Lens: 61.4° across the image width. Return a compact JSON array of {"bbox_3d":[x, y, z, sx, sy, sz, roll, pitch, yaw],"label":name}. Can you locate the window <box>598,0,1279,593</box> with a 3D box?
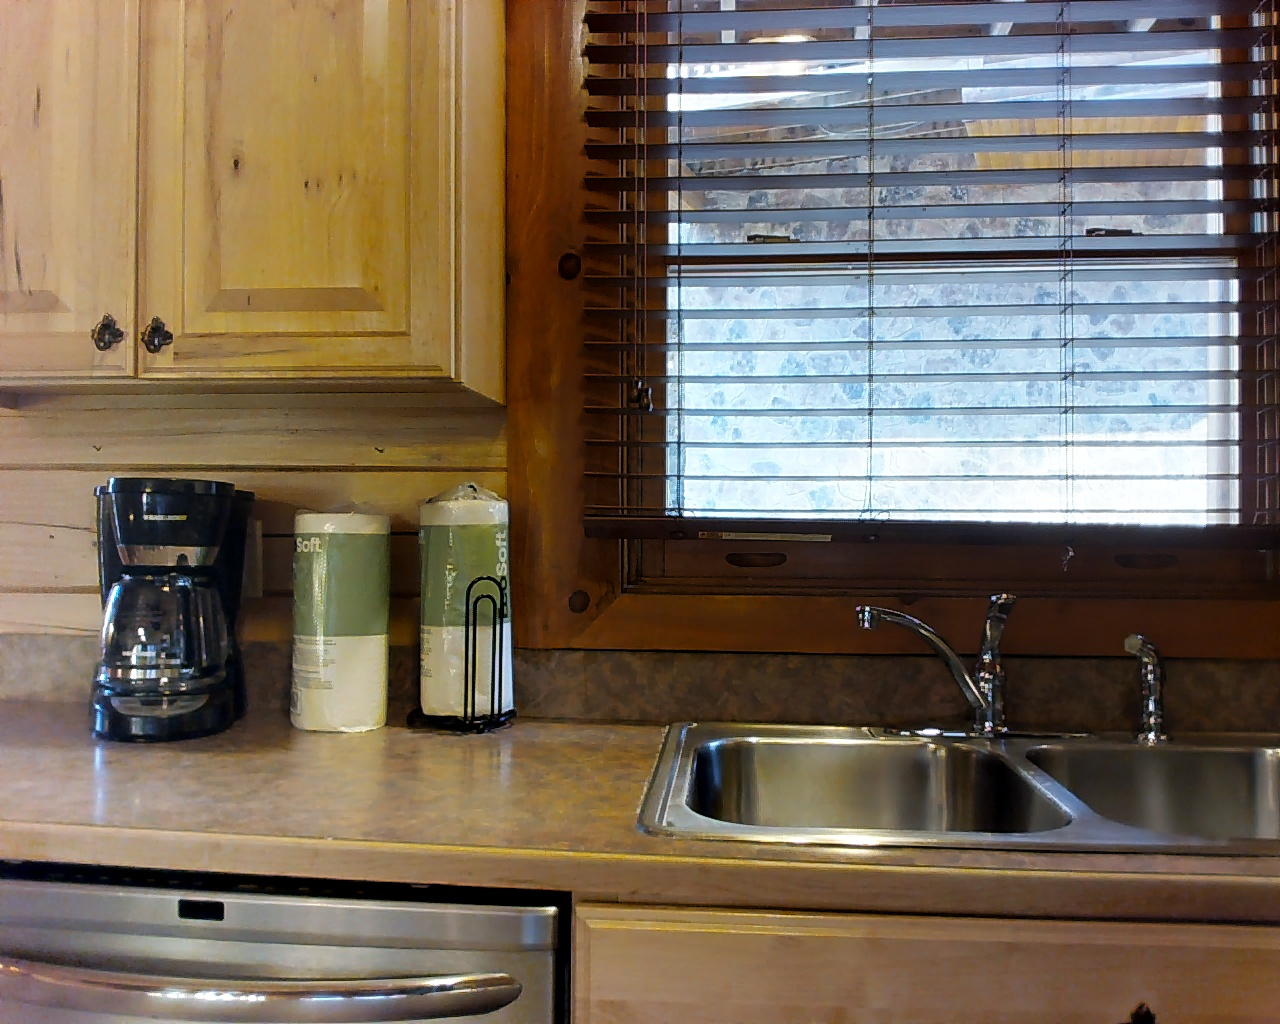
[{"bbox_3d":[0.490,-0.440,1.430,1.060,1.070,0.310,0,-1,5],"label":"window"}]

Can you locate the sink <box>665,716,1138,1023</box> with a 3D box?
[{"bbox_3d":[0.240,0.360,1.160,0.400,0.190,0.470,0,-1,5],"label":"sink"}]
